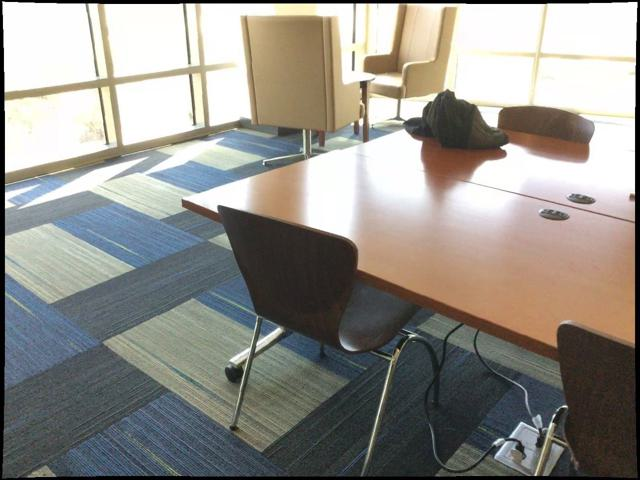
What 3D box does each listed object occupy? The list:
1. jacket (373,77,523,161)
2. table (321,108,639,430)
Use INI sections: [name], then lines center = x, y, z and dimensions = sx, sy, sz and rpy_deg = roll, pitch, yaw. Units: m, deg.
[jacket]
center = 0.529, -0.541, 2.490
dimensions = 0.319, 0.220, 0.560
rpy_deg = -13, 28, -28
[table]
center = 1.027, 0.060, 2.250
dimensions = 1.967, 0.762, 0.799
rpy_deg = 18, 30, 34
